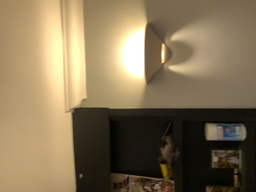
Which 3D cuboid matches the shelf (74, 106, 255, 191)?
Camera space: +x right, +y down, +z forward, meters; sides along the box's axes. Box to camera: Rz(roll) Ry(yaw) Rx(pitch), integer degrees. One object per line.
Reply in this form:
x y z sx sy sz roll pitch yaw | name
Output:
0.420 0.530 1.250 0.160 1.460 0.930 -19 -72 -81 | shelf
